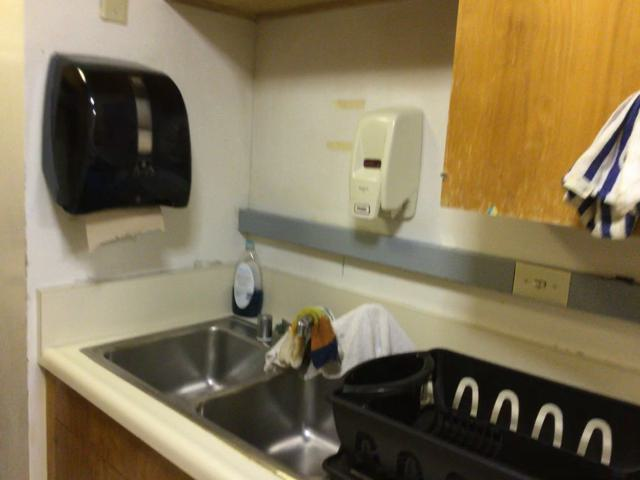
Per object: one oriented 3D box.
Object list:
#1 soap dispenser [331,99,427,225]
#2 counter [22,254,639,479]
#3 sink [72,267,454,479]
[{"bbox_3d":[0.140,-0.190,1.400,0.170,0.280,0.130,11,12,42],"label":"soap dispenser"},{"bbox_3d":[0.120,0.320,1.100,1.690,0.260,0.680,11,12,42],"label":"counter"},{"bbox_3d":[-0.150,0.330,1.370,0.690,0.360,0.570,11,12,42],"label":"sink"}]
